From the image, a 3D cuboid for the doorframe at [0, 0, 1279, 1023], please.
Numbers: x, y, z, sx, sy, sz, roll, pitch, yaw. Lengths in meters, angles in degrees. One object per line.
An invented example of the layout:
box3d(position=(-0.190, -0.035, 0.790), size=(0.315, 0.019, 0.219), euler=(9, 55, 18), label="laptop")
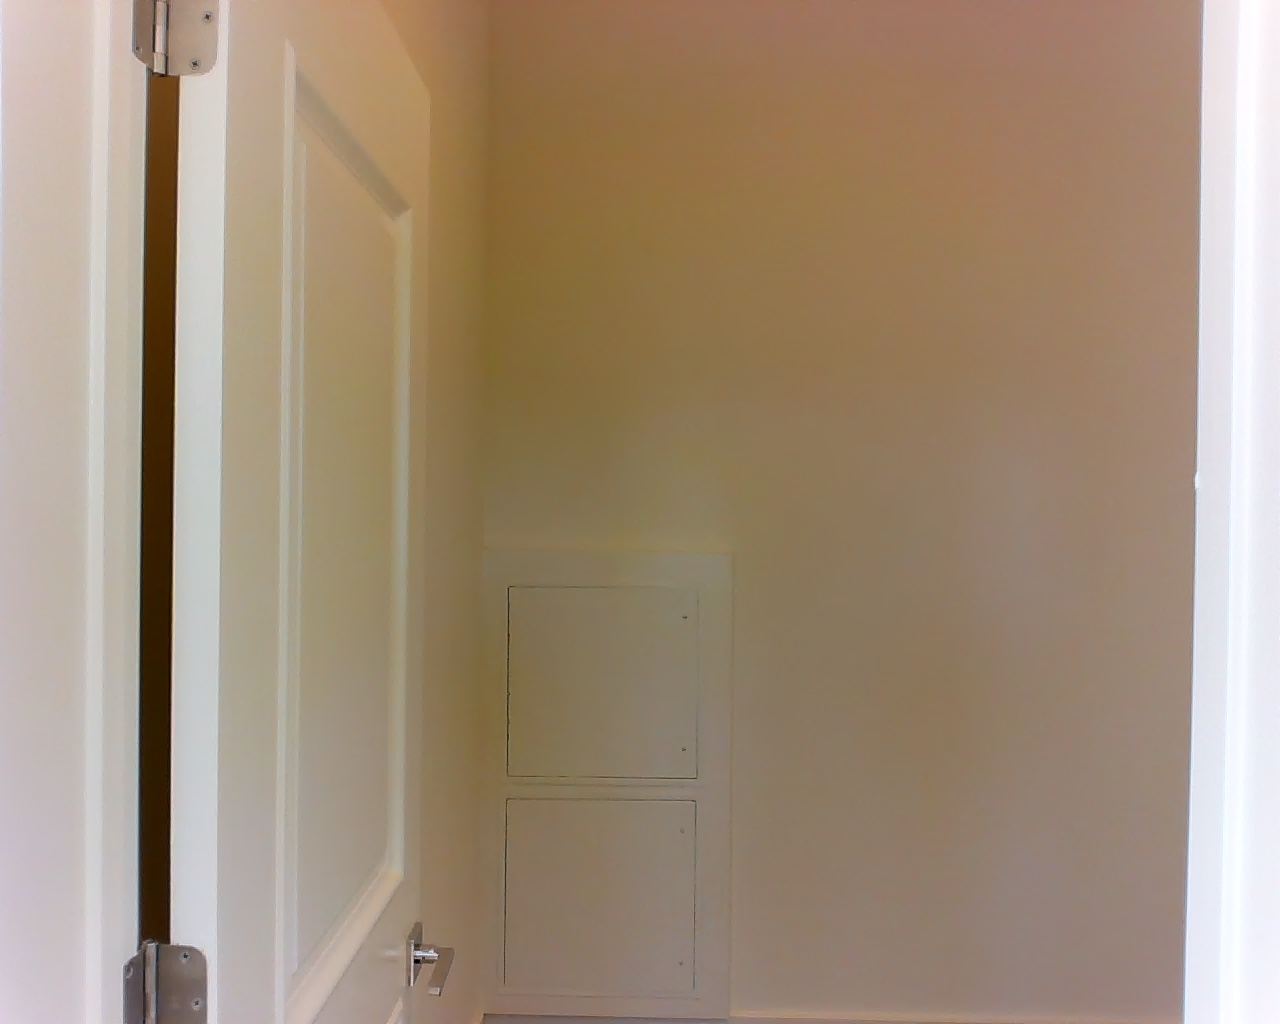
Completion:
box3d(position=(0.010, 0.440, 0.680), size=(0.860, 2.220, 0.230), euler=(1, 0, 2), label="doorframe")
